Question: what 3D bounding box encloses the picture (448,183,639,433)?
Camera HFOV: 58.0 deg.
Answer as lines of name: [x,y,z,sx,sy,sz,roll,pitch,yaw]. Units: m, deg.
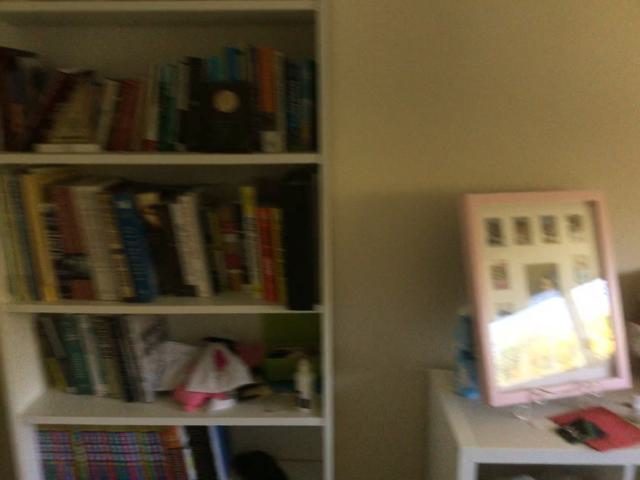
picture: [0.530,0.140,1.420,0.390,0.520,0.350,-1,10,8]
